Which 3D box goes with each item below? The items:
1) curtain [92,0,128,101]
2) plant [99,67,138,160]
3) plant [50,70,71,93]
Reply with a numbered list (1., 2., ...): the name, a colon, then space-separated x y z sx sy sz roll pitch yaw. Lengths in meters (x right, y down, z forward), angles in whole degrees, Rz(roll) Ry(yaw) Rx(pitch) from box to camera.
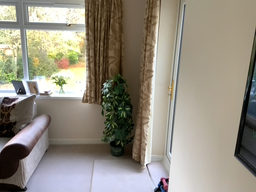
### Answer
1. curtain: -0.250 -0.720 2.820 0.430 1.580 0.210 1 15 -6
2. plant: -0.140 0.220 2.850 0.440 1.140 0.470 2 15 -2
3. plant: -0.980 -0.220 3.100 0.260 0.300 0.180 1 15 -8
